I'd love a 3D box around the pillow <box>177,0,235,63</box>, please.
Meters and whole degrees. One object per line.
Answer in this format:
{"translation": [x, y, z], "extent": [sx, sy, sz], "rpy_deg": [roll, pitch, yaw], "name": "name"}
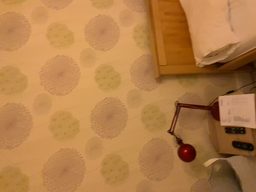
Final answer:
{"translation": [0.550, -0.590, 1.580], "extent": [0.360, 0.140, 0.580], "rpy_deg": [135, 131, -71], "name": "pillow"}
